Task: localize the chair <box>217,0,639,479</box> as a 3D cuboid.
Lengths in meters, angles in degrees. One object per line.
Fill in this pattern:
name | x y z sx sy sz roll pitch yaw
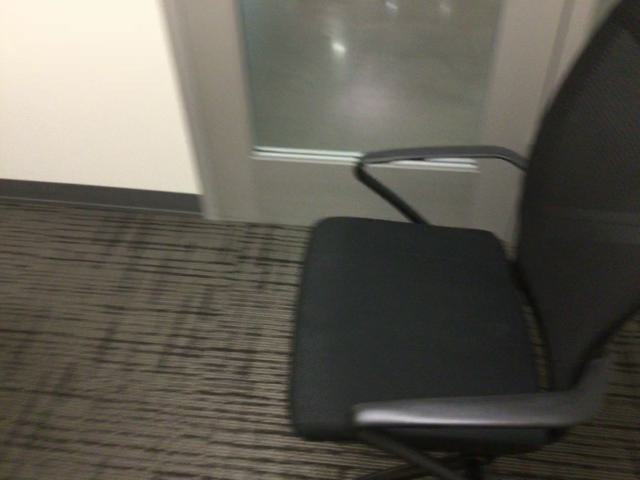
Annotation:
chair | 0.230 0.100 0.990 0.590 0.890 0.540 4 41 5
